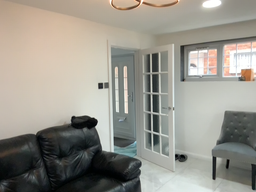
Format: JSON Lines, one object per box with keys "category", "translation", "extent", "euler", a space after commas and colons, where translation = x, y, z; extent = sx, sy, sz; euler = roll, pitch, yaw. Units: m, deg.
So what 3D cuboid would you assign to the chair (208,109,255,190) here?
{"category": "chair", "translation": [1.570, 0.720, 3.120], "extent": [0.550, 0.920, 0.650], "euler": [3, 7, 38]}
